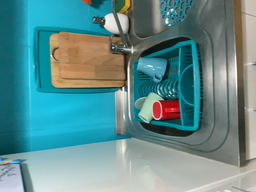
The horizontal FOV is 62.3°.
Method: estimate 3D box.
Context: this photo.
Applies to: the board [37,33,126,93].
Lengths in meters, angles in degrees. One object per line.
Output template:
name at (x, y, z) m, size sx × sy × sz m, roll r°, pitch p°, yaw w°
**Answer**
board at (-0.190, -0.150, 0.920) m, size 0.070 × 0.340 × 0.220 m, roll -5°, pitch 96°, yaw 59°
